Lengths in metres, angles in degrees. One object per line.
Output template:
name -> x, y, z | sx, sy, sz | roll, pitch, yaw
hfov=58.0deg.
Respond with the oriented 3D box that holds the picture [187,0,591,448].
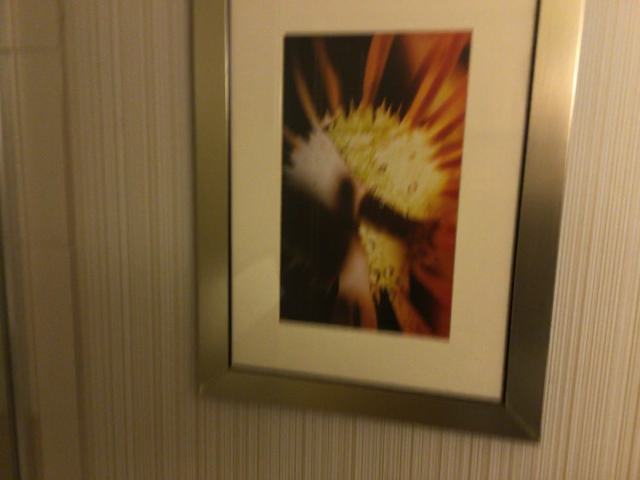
picture -> 0.060, -0.060, 0.770 | 0.470, 0.610, 0.040 | 8, 12, 13
